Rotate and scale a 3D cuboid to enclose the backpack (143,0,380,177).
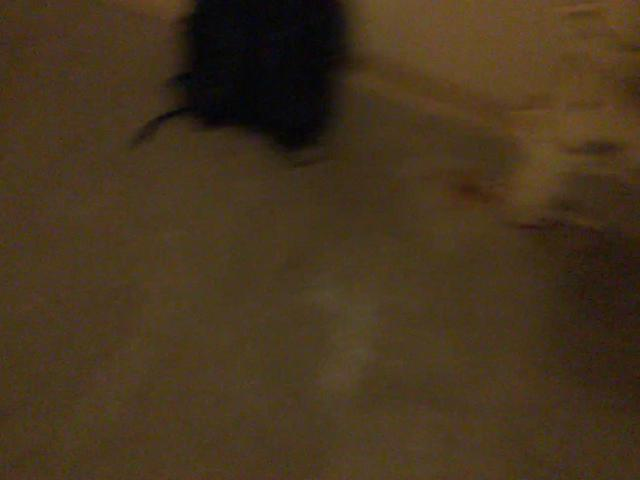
[{"bbox_3d":[-0.120,-0.460,1.320,0.400,0.400,0.340,23,59,5],"label":"backpack"}]
